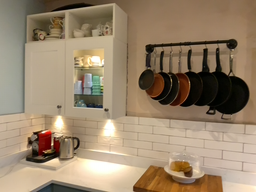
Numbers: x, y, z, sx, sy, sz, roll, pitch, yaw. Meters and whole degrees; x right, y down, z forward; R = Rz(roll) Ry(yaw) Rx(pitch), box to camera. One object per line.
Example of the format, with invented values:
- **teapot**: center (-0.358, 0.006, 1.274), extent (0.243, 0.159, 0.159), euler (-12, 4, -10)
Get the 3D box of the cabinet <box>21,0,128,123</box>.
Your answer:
- **cabinet**: center (-0.550, -0.330, 2.120), extent (1.040, 1.080, 0.310), euler (2, 2, 21)
